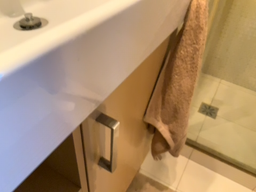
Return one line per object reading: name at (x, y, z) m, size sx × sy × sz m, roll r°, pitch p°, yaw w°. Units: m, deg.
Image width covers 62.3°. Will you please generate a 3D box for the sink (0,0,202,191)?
sink at (-0.150, -0.170, 0.370) m, size 0.420 × 0.130 × 0.650 m, roll 24°, pitch 46°, yaw 19°
